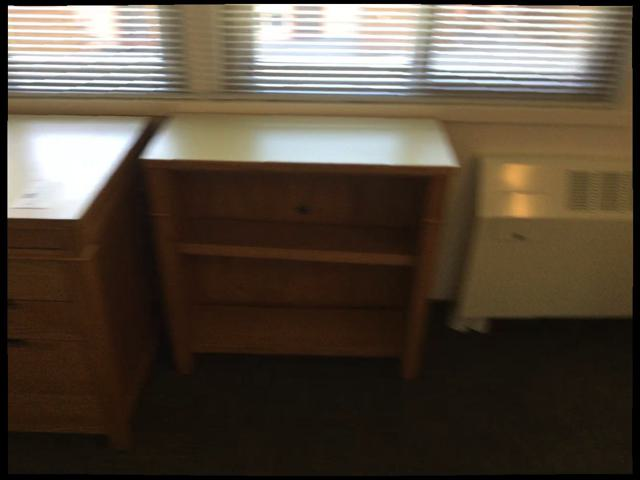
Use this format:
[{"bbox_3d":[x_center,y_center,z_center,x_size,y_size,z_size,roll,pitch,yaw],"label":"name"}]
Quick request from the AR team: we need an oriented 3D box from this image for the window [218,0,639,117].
[{"bbox_3d":[0.329,-0.792,1.570,1.188,0.821,0.270,2,34,0],"label":"window"}]

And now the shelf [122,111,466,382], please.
[{"bbox_3d":[-0.070,0.040,1.770,0.848,0.761,0.320,2,34,0],"label":"shelf"}]

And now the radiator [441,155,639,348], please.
[{"bbox_3d":[0.918,0.060,1.890,0.928,0.641,0.160,2,34,0],"label":"radiator"}]
